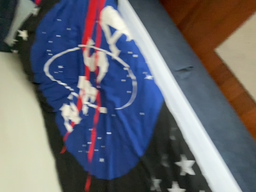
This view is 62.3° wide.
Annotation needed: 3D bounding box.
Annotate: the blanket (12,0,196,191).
[{"bbox_3d":[-0.290,-0.050,1.120,0.820,0.270,1.060,-45,60,39],"label":"blanket"}]
